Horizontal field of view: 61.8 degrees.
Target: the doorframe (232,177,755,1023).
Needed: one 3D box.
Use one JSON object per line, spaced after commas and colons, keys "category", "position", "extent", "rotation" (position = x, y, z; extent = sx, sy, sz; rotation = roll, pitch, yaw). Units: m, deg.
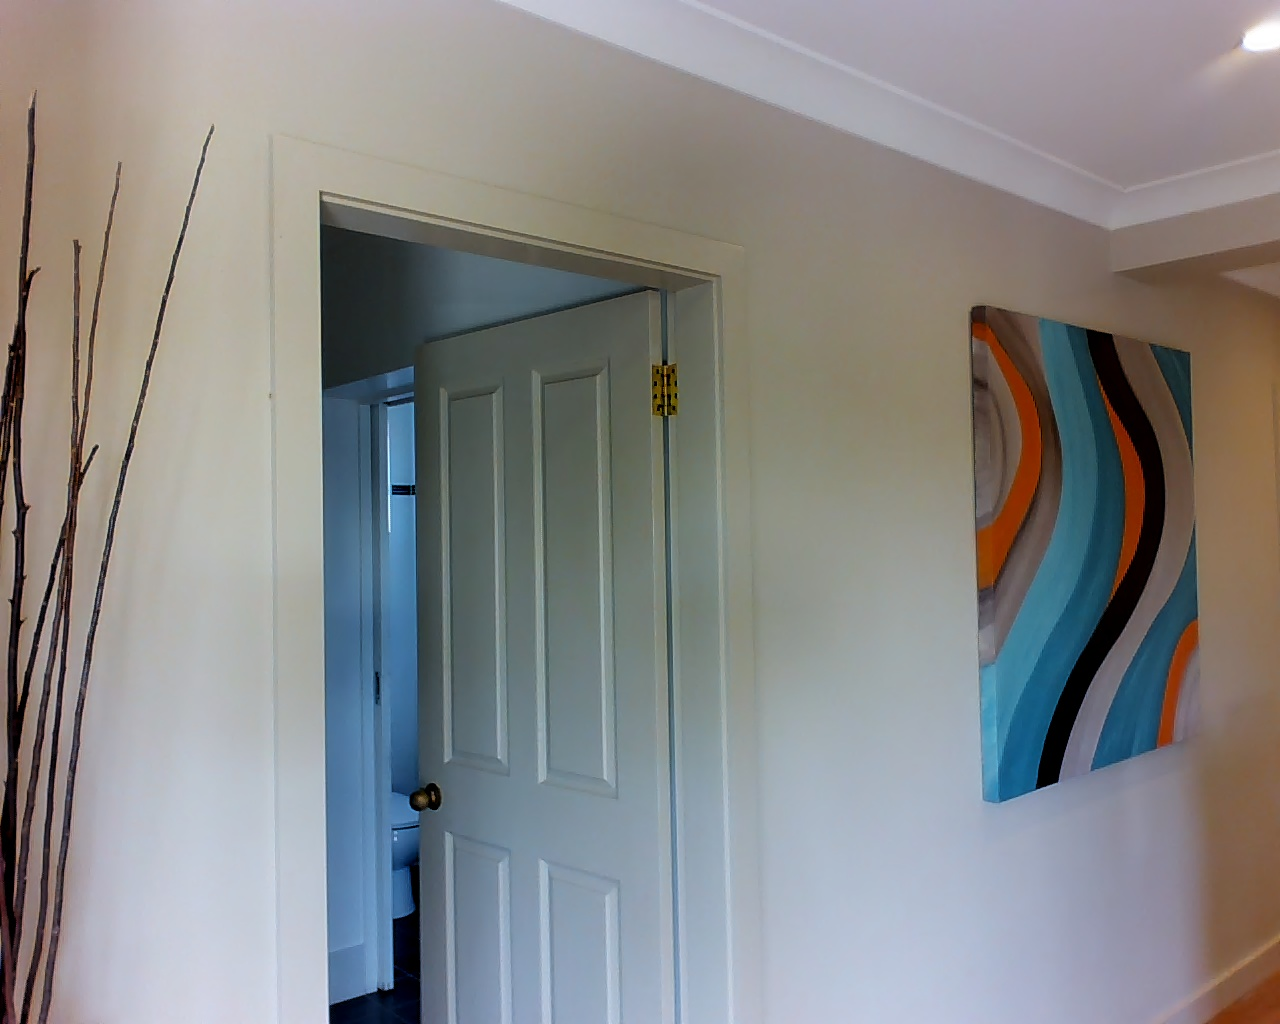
{"category": "doorframe", "position": [-0.200, 0.570, 1.810], "extent": [0.880, 2.041, 0.240], "rotation": [1, -3, -42]}
